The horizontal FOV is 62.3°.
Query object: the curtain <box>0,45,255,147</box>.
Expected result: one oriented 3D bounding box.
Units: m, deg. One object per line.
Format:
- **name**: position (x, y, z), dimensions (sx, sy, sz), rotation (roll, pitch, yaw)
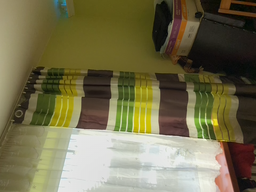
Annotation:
- **curtain**: position (0.250, -0.010, 1.960), dimensions (0.210, 2.620, 0.780), rotation (97, 177, -52)
